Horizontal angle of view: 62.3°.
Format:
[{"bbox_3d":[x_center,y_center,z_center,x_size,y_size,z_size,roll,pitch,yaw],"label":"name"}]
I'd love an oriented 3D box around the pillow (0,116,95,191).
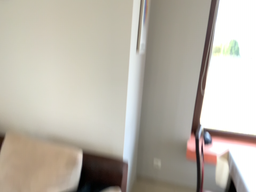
[{"bbox_3d":[-0.650,0.540,1.440,0.650,0.440,0.290,37,23,1],"label":"pillow"}]
